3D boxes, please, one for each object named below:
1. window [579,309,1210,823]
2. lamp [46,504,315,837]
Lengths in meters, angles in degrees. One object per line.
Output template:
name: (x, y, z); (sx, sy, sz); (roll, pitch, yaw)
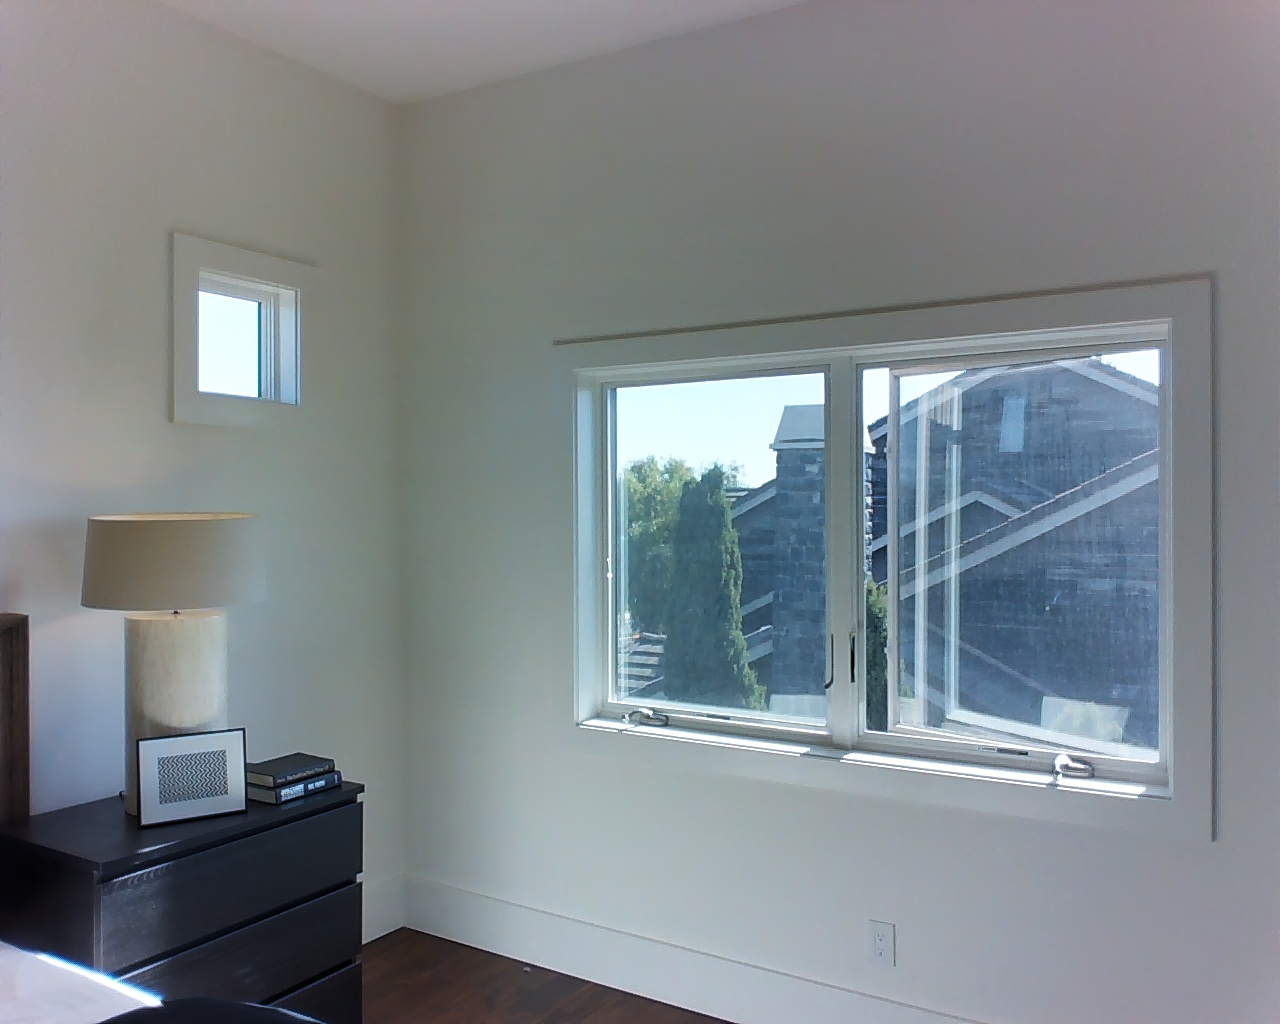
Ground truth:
window: (0.640, 0.130, 3.180); (1.840, 1.240, 0.240); (0, 0, 32)
lamp: (-1.200, 0.370, 2.830); (0.450, 0.780, 0.480); (0, 0, 30)
